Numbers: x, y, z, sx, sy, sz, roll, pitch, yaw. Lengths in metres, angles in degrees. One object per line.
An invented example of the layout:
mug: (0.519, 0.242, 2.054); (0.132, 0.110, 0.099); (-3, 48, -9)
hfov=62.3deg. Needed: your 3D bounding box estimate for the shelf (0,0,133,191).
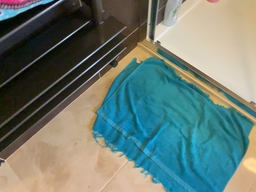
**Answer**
shelf: (-0.280, -0.190, 0.390); (0.220, 1.470, 0.610); (41, 70, 20)
